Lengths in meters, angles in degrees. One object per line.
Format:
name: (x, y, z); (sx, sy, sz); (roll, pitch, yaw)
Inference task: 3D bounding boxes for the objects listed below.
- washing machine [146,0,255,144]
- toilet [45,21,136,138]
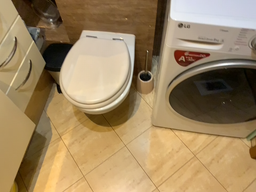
washing machine: (0.470, -0.230, 1.150); (0.630, 0.860, 0.650); (6, 59, 5)
toilet: (-0.170, -0.090, 1.290); (0.370, 0.430, 0.520); (6, 59, 4)
